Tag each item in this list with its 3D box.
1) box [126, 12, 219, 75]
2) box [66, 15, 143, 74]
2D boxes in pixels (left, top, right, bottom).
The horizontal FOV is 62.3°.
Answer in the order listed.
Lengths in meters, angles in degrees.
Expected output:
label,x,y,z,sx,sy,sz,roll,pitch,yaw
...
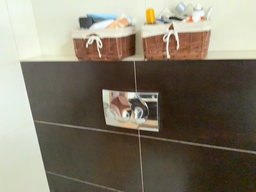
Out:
label,x,y,z,sx,sy,sz,roll,pitch,yaw
box,0.170,-0.200,0.800,0.290,0.190,0.190,5,20,27
box,-0.090,-0.220,0.900,0.250,0.210,0.180,5,20,27
